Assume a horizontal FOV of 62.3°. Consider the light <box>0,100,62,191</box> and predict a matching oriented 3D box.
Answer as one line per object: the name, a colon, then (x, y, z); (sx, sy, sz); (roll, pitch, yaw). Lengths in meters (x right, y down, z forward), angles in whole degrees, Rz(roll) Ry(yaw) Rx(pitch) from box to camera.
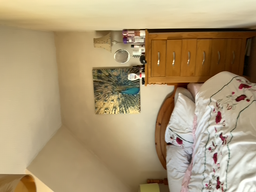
light: (-0.810, 0.430, 1.370); (0.400, 0.800, 0.410); (-12, -65, 8)
